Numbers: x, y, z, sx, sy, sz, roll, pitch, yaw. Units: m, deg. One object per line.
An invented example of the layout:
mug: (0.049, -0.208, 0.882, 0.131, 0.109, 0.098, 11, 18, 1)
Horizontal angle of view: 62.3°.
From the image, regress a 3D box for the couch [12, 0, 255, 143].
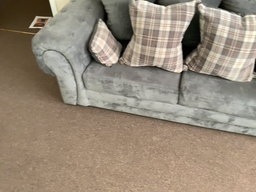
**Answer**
couch: (0.430, -0.350, 1.620, 2.000, 0.740, 0.940, 9, 47, 8)
